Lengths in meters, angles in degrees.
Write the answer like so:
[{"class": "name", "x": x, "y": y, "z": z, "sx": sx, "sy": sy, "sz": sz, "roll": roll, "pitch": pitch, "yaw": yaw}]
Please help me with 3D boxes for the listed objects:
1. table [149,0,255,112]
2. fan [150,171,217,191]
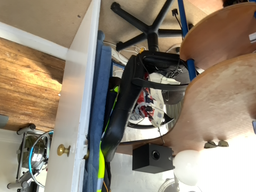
[{"class": "table", "x": 0.310, "y": -0.390, "z": 0.950, "sx": 0.140, "sy": 0.800, "sz": 0.460, "roll": 18, "pitch": 147, "yaw": -30}, {"class": "fan", "x": 0.400, "y": 0.770, "z": 1.530, "sx": 0.250, "sy": 0.360, "sz": 0.410, "roll": 19, "pitch": 146, "yaw": -32}]
